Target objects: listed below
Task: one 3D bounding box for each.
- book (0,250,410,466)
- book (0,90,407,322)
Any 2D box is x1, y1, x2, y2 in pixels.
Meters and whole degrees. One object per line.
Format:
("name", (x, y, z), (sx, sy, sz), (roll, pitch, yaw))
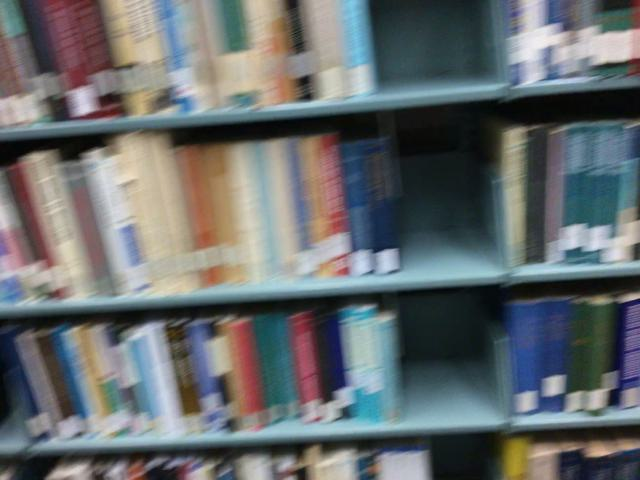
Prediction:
("book", (-0.210, 0.220, 1.130), (0.720, 0.250, 0.250), (-7, 18, 3))
("book", (-0.220, -0.070, 1.010), (0.690, 0.270, 0.230), (-7, 18, 2))
